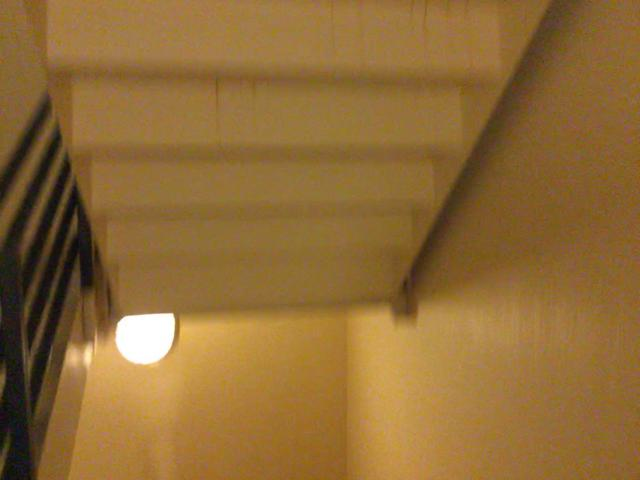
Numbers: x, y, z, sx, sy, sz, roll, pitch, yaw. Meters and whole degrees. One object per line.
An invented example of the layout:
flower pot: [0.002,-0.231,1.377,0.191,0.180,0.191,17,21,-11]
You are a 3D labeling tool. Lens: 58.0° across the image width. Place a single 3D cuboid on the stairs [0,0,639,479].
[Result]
stairs: [-0.330,-0.340,1.640,1.760,1.770,1.720,-2,8,-9]
